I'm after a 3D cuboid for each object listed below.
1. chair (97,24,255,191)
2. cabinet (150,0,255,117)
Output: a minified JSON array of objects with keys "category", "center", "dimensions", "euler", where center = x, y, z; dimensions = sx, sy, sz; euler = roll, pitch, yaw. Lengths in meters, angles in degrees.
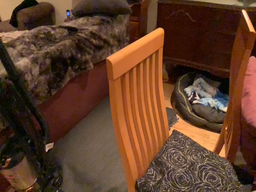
[{"category":"chair","center":[0.260,0.340,0.850],"dimensions":[0.540,1.070,0.380],"euler":[22,41,30]},{"category":"cabinet","center":[0.980,-0.420,2.060],"dimensions":[1.380,0.920,0.580],"euler":[15,38,22]}]
